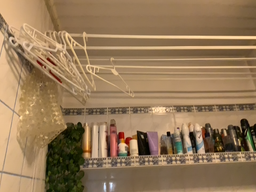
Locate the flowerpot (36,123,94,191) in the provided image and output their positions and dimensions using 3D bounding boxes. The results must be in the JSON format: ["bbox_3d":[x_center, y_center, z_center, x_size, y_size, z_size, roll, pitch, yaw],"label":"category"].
[{"bbox_3d":[-0.310,0.470,1.100,0.240,0.590,0.280,0,-24,-6],"label":"flowerpot"}]
